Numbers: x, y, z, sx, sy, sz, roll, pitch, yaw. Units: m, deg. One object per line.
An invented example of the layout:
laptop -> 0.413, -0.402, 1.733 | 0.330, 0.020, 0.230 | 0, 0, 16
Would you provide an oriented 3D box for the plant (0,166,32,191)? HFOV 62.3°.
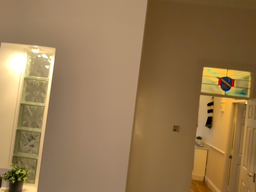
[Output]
plant -> -0.960, 0.730, 1.800 | 0.170, 0.190, 0.200 | 7, -2, 5
